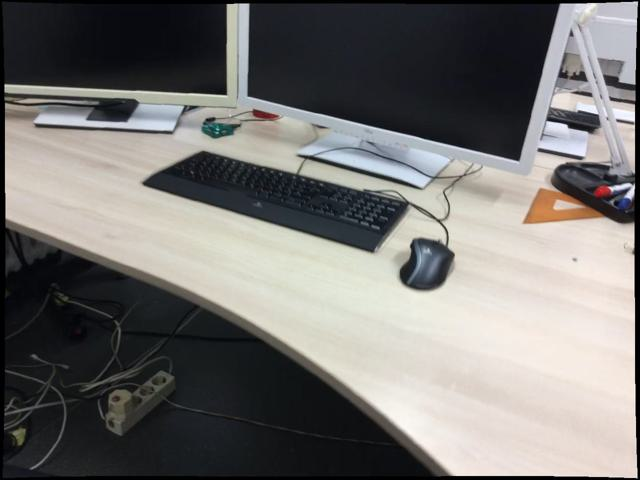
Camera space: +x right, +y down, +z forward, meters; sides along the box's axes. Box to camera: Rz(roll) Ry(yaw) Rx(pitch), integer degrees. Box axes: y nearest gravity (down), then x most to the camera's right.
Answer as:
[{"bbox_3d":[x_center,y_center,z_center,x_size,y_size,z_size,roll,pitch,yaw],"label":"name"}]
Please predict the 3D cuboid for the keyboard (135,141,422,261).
[{"bbox_3d":[-0.080,-0.090,1.060,0.480,0.020,0.220,19,33,24],"label":"keyboard"}]
